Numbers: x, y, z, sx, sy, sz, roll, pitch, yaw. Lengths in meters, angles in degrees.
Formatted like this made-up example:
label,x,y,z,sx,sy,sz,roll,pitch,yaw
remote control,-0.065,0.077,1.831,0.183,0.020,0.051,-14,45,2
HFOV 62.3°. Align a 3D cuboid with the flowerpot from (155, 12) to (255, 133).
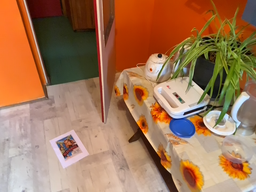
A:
label,x,y,z,sx,sy,sz,roll,pitch,yaw
flowerpot,0.470,-0.140,1.110,0.480,0.400,0.400,-11,45,-15
